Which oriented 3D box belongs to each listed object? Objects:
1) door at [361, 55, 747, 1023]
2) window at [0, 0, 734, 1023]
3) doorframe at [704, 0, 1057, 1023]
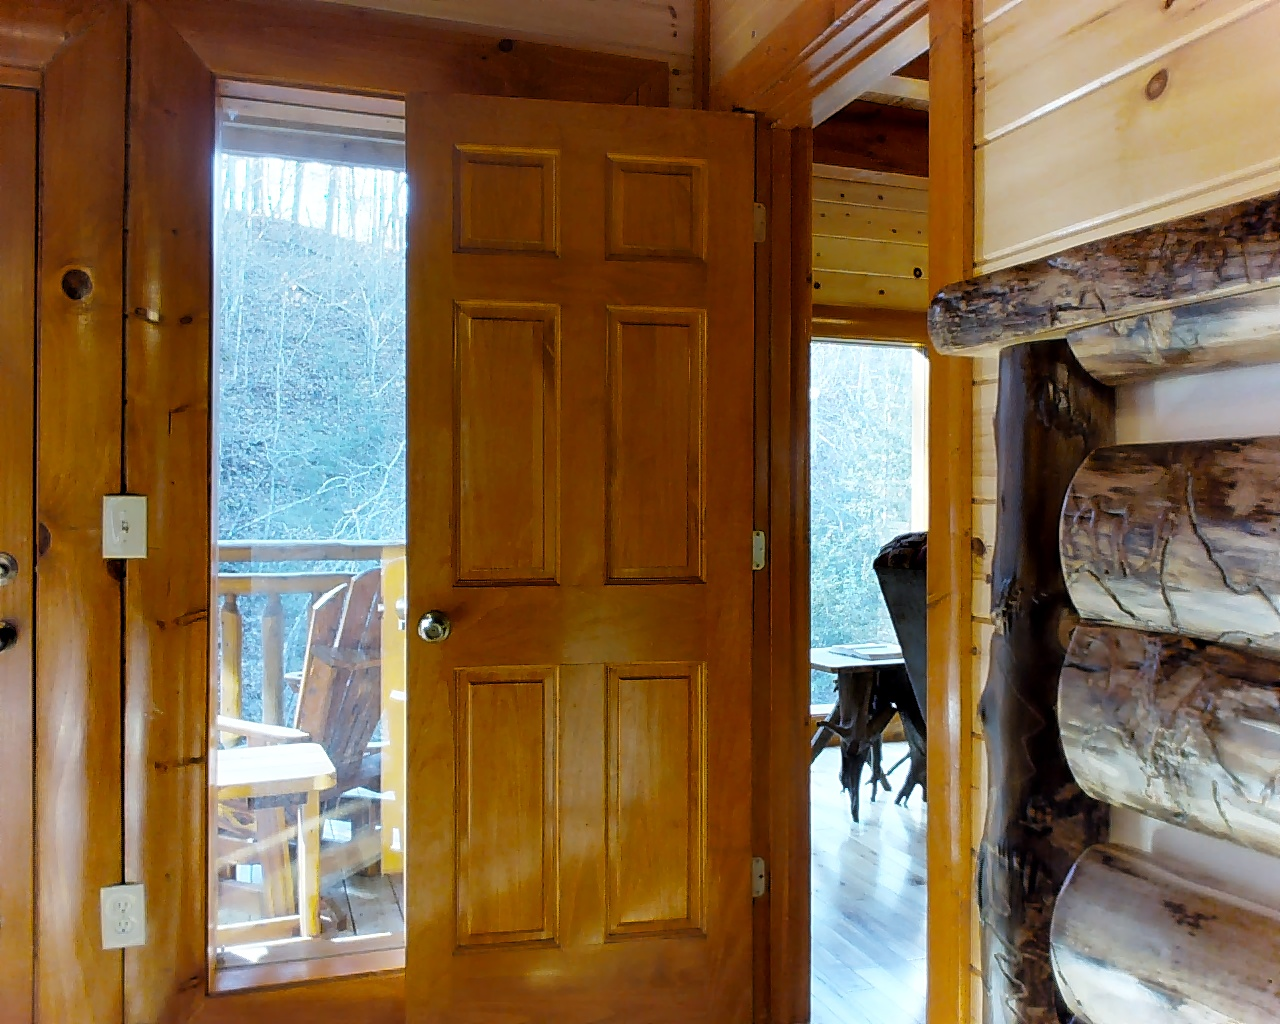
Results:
[{"bbox_3d":[-0.180,0.110,2.330,0.810,2.071,0.110,0,1,-12],"label":"door"},{"bbox_3d":[-1.659,0.030,1.960,3.829,2.251,0.360,0,1,-20],"label":"window"},{"bbox_3d":[0.400,0.090,2.070,0.220,2.121,0.870,0,1,-20],"label":"doorframe"}]
